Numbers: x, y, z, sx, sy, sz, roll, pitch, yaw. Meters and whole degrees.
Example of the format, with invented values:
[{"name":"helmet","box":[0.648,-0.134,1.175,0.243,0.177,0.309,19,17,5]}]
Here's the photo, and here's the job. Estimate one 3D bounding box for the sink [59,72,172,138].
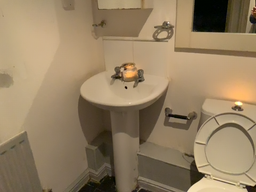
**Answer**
[{"name":"sink","box":[-0.070,0.020,1.420,0.610,0.190,0.420,10,26,26]}]
